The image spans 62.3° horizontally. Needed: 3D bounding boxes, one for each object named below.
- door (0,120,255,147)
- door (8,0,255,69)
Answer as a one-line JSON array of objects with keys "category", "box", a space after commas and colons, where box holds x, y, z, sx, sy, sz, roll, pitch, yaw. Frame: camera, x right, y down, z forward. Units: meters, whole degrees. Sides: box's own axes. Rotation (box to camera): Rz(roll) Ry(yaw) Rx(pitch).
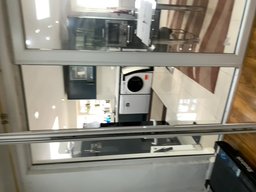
[{"category": "door", "box": [0.120, 0.320, 1.990, 0.810, 2.190, 0.100, 141, 127, -77]}, {"category": "door", "box": [0.160, -0.870, 1.890, 0.110, 2.250, 1.260, -116, 27, -67]}]
